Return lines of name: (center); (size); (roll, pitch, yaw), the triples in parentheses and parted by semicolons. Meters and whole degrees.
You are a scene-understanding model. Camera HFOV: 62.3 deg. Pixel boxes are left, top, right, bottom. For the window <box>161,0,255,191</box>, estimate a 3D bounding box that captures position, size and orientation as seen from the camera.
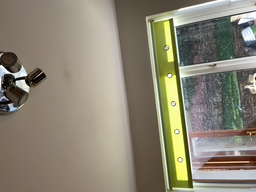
window: (0.980, 0.070, 1.960); (0.180, 1.120, 1.920); (-10, -87, -72)
